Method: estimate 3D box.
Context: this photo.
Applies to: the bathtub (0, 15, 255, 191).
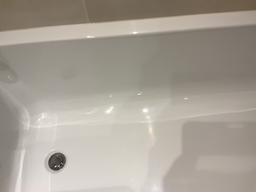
[{"bbox_3d":[0.430,0.180,0.780,1.950,0.600,0.670,-5,62,-1],"label":"bathtub"}]
